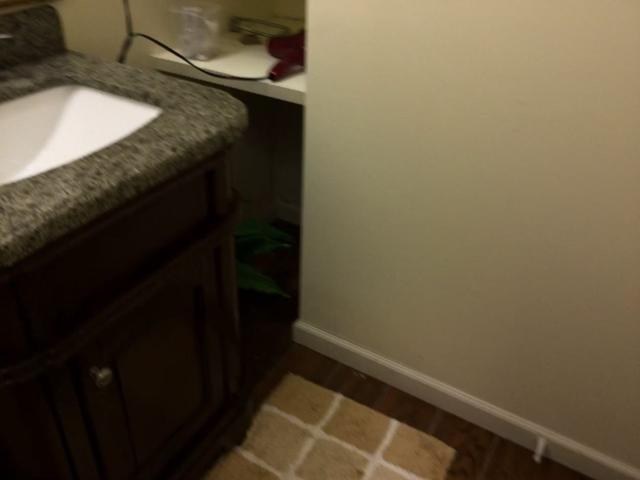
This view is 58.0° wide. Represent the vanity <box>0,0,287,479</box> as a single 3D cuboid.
[{"bbox_3d":[-0.520,0.120,1.200,0.590,1.020,0.710,19,36,22],"label":"vanity"}]
